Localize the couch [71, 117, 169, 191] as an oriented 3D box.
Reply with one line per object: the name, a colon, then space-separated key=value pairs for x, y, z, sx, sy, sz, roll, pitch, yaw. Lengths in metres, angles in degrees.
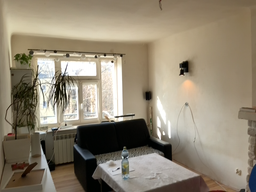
couch: x=-0.160 y=0.960 z=3.780 sx=1.500 sy=0.920 sz=0.910 roll=-2 pitch=4 yaw=-25

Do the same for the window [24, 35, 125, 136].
window: x=-1.110 y=-0.250 z=4.790 sx=2.130 sy=2.030 sz=0.200 roll=-2 pitch=4 yaw=-24
